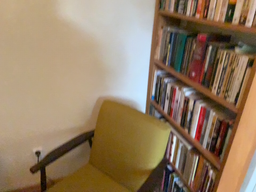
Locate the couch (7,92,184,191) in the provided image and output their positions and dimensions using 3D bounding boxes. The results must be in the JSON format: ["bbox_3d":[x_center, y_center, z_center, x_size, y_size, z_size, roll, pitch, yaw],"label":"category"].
[{"bbox_3d":[-0.140,0.520,1.260,0.590,0.760,0.680,20,32,30],"label":"couch"}]
